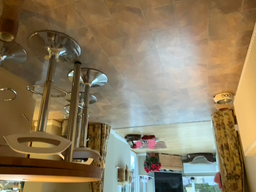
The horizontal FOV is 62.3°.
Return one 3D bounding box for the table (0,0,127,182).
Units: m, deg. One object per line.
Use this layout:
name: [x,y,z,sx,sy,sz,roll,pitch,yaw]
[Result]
table: [-0.710,0.130,1.670,1.090,0.960,1.130,-8,155,17]
